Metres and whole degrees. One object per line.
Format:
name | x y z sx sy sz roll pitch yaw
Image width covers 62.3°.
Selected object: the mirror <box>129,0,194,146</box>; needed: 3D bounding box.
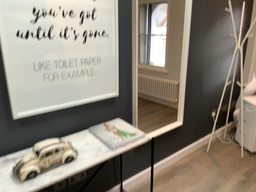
mirror | 0.310 -0.360 1.910 0.680 1.560 0.070 -14 22 -33
